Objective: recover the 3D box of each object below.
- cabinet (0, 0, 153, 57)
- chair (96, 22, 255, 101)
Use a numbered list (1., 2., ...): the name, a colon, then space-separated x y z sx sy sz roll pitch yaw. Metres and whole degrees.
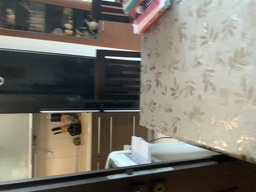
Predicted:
1. cabinet: -0.660 -0.850 2.580 0.510 1.910 0.520 -174 85 -65
2. chair: 0.360 -0.150 1.380 0.500 1.020 0.350 180 91 -65
